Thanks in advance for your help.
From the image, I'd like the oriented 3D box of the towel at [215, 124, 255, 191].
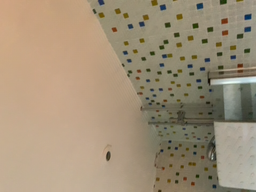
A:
[{"bbox_3d":[0.630,0.330,1.000,0.030,0.380,0.410,-40,-57,-59],"label":"towel"}]
